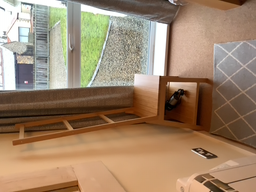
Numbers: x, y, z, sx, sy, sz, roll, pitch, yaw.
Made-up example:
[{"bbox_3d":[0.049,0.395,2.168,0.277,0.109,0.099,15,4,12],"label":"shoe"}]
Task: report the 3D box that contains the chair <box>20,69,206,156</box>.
[{"bbox_3d":[-0.080,0.060,1.630,0.450,1.330,0.470,15,104,62],"label":"chair"}]
